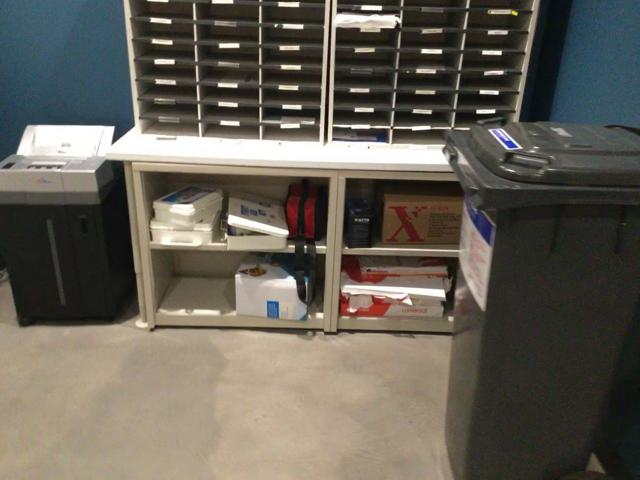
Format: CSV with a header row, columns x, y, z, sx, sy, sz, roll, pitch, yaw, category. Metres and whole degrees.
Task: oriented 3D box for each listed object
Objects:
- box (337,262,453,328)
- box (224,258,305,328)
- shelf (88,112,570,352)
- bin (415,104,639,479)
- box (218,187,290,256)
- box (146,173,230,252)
x,y,z,sx,sy,sz,roll,pitch,yaw,category
0.290,0.220,2.320,0.430,0.200,0.150,2,25,-2,box
-0.220,0.210,2.320,0.290,0.190,0.160,6,25,8,box
0.020,-0.040,2.360,1.650,0.790,0.490,2,25,-2,shelf
0.590,0.220,1.550,0.570,1.030,0.510,-3,24,1,bin
-0.250,-0.080,2.290,0.250,0.140,0.350,2,25,-2,box
-0.510,-0.120,2.300,0.250,0.180,0.370,2,25,-2,box
